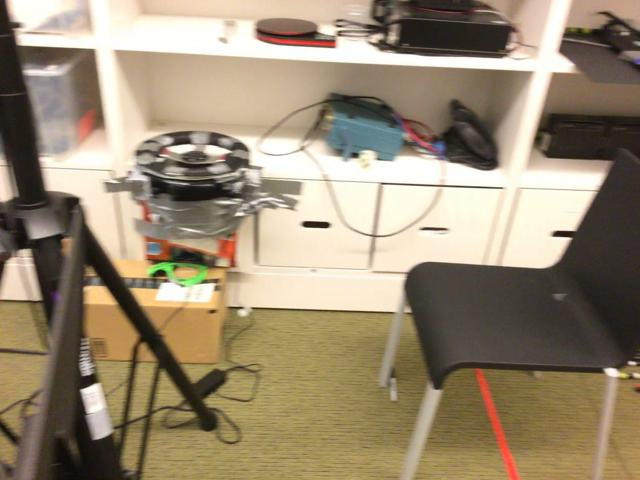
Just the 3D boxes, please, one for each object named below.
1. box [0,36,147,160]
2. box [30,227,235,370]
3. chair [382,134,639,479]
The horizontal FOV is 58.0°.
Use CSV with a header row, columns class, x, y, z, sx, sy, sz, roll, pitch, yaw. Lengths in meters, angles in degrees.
class,x,y,z,sx,sy,sz,roll,pitch,yaw
box,-0.740,-0.450,1.800,0.270,0.290,0.340,-1,30,0
box,-0.550,0.180,1.810,0.510,0.340,0.280,-1,30,0
chair,0.480,0.190,1.460,0.560,0.780,0.480,-1,30,0
